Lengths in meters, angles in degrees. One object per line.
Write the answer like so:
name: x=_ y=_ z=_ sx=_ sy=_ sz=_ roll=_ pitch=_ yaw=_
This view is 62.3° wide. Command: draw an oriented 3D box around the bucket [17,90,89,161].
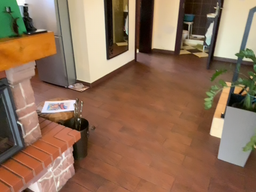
bucket: x=-0.720 y=0.270 z=2.130 sx=0.440 sy=0.430 sz=0.450 roll=14 pitch=30 yaw=23
